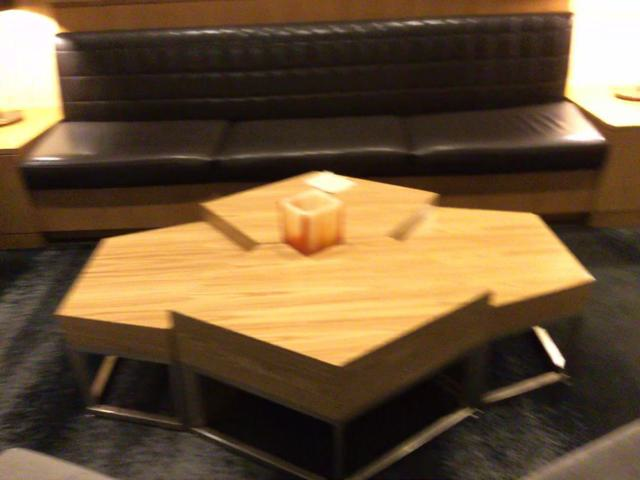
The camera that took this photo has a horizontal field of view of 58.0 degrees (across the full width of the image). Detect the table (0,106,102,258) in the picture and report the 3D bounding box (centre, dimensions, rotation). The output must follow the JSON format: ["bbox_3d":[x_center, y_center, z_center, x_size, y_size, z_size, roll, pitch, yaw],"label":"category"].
[{"bbox_3d":[-1.590,-0.290,2.960,0.560,0.550,0.580,-8,28,8],"label":"table"}]

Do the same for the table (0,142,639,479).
[{"bbox_3d":[-0.010,0.190,1.930,1.600,0.500,1.220,-4,29,6],"label":"table"}]
